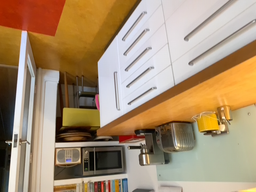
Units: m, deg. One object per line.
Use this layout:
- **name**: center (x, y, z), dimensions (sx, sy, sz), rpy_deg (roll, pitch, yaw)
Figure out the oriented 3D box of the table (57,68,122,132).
- **table**: center (-0.540, 0.090, 2.900), dimensions (0.720, 0.710, 0.490), rpy_deg (5, 160, -28)
